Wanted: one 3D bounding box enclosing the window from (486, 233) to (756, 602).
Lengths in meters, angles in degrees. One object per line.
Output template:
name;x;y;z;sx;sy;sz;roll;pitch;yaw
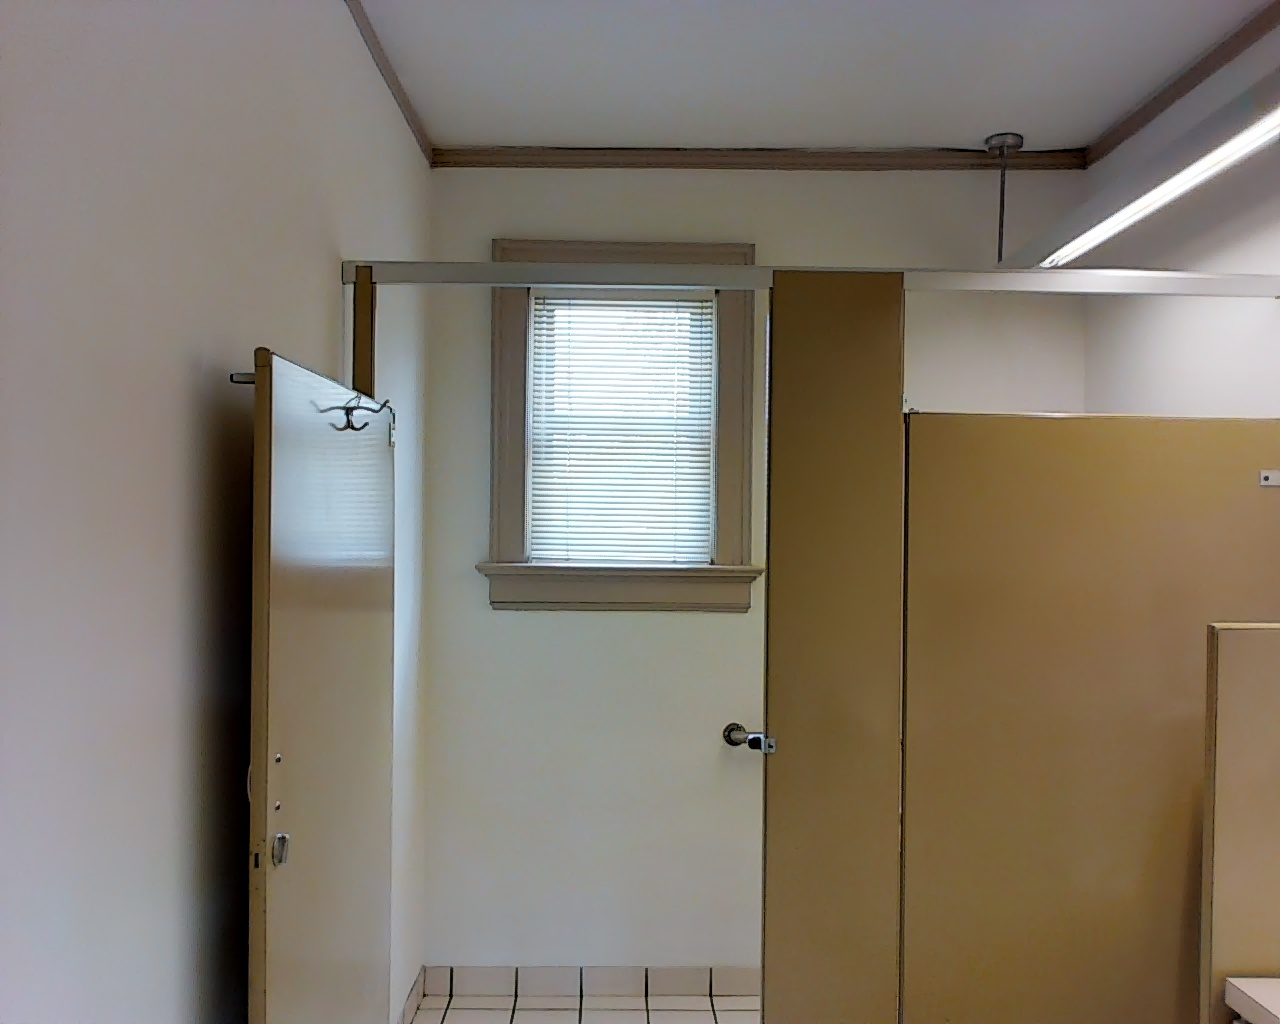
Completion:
window;-0.060;-0.300;3.470;0.840;1.160;0.100;1;-1;-1
